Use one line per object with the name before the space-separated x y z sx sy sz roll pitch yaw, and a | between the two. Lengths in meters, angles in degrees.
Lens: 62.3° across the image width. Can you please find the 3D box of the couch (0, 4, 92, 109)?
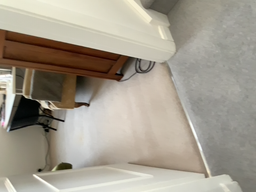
couch | -1.040 -0.350 2.540 0.750 0.910 0.950 -3 82 56

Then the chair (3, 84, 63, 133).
chair | -1.460 0.220 3.260 0.550 0.720 0.530 -42 51 45
